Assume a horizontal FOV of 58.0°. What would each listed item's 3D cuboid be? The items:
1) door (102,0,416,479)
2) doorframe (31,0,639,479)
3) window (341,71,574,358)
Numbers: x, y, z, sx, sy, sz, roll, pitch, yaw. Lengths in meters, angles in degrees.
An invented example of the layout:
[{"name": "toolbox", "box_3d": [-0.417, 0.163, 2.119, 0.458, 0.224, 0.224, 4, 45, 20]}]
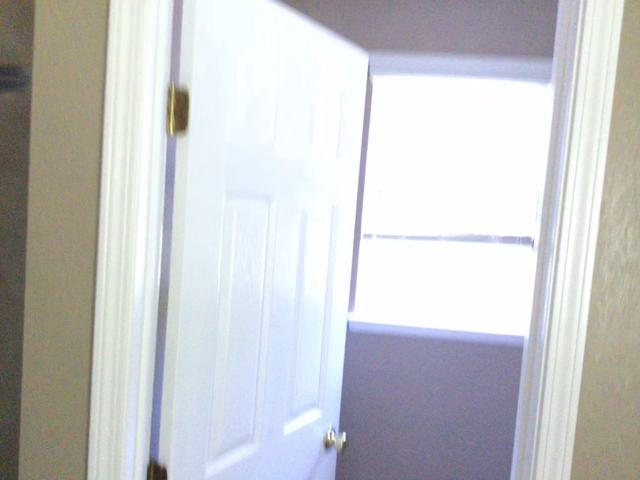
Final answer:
[{"name": "door", "box_3d": [-0.120, 0.480, 1.480, 0.240, 2.020, 0.830, 5, 1, 34]}, {"name": "doorframe", "box_3d": [0.000, 0.470, 1.090, 0.990, 2.050, 0.270, 5, 1, 6]}, {"name": "window", "box_3d": [0.450, -0.090, 1.990, 0.670, 0.880, 0.240, 5, 1, 6]}]
